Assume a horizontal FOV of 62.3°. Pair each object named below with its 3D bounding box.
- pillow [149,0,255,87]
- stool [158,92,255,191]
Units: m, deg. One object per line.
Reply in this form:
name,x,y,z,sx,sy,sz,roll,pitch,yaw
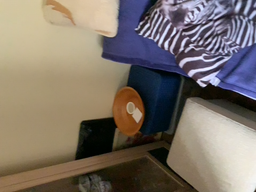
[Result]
pillow,0.280,-0.300,0.840,0.380,0.240,0.400,-102,24,-71
stool,0.520,0.270,1.130,0.430,0.450,0.450,31,117,46
